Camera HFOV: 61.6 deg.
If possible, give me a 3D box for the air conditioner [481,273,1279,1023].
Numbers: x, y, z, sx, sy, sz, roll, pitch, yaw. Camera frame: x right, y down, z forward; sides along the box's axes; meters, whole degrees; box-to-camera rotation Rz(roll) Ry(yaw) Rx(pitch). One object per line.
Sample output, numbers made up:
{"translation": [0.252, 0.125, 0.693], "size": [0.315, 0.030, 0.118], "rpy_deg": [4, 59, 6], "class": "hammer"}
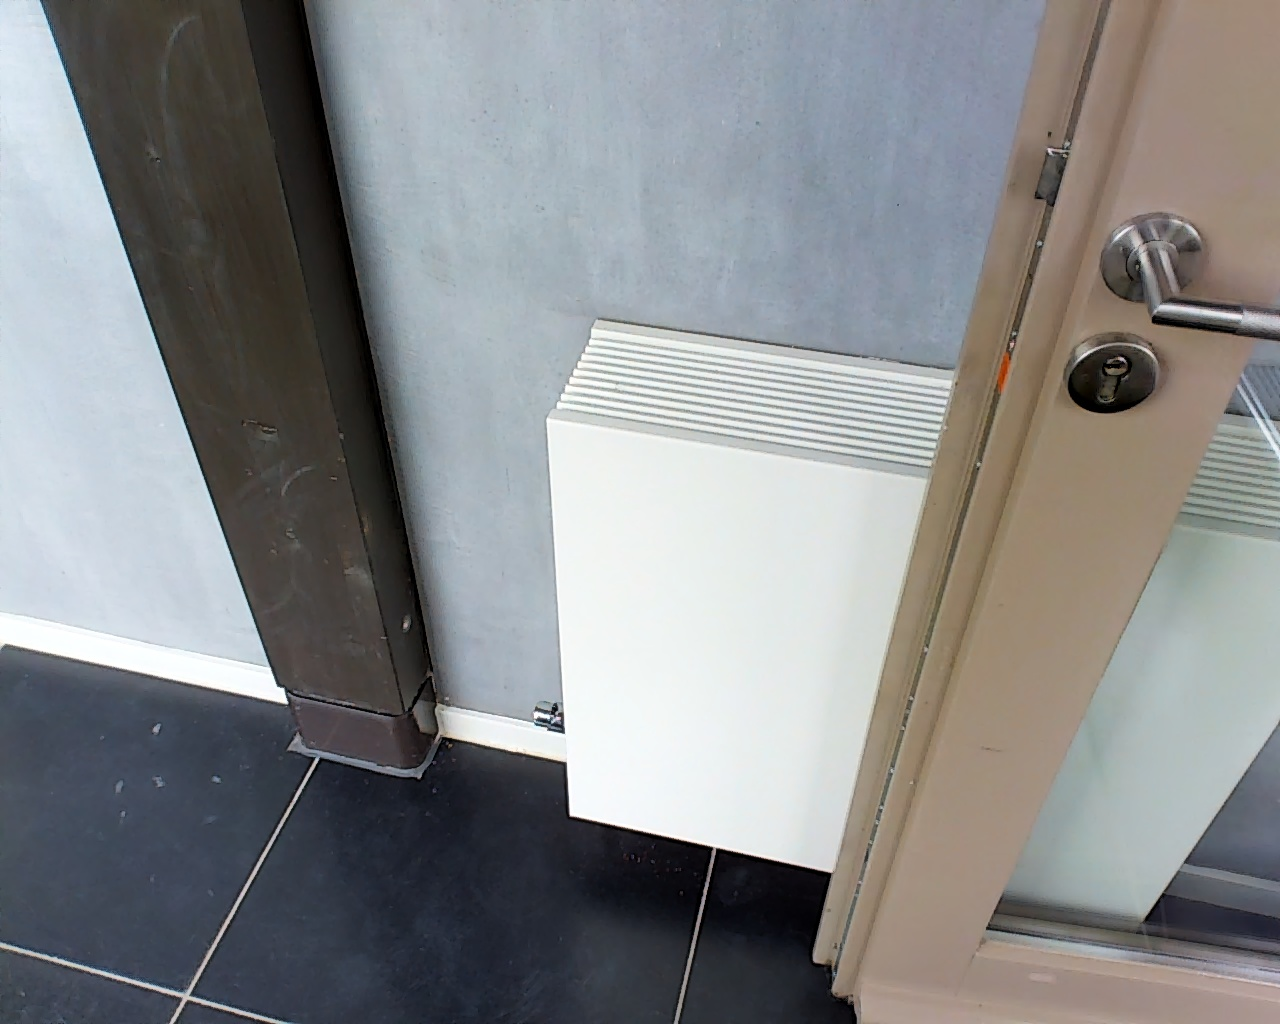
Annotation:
{"translation": [0.270, 0.200, 1.200], "size": [0.790, 0.820, 0.210], "rpy_deg": [10, 43, 10], "class": "air conditioner"}
